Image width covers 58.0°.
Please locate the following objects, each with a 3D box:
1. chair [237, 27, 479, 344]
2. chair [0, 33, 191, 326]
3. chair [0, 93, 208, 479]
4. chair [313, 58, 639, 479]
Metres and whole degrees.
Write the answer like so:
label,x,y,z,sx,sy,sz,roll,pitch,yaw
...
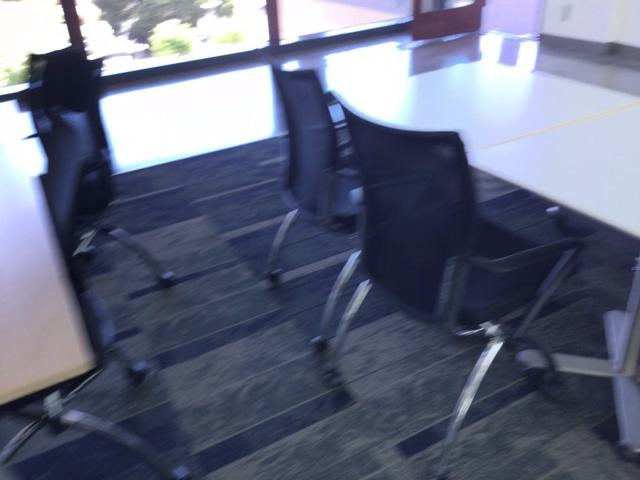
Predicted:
label,x,y,z,sx,sy,sz,roll,pitch,yaw
chair,0.120,-0.220,2.040,0.580,0.890,0.510,-16,31,-23
chair,-0.950,-0.260,2.190,0.580,0.890,0.520,16,34,31
chair,-0.710,0.210,1.420,0.580,0.940,0.540,-18,32,-26
chair,0.370,0.050,1.580,0.560,0.910,0.550,-15,31,-21
